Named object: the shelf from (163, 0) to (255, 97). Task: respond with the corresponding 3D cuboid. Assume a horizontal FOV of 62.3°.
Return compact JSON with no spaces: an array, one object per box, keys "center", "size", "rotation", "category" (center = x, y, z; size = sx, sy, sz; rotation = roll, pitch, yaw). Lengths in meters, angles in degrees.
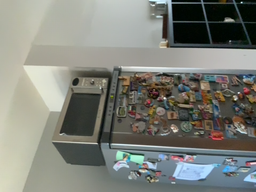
[{"center":[1.170,-0.780,2.410],"size":[0.450,1.450,1.610],"rotation":[87,-173,-53],"category":"shelf"}]
